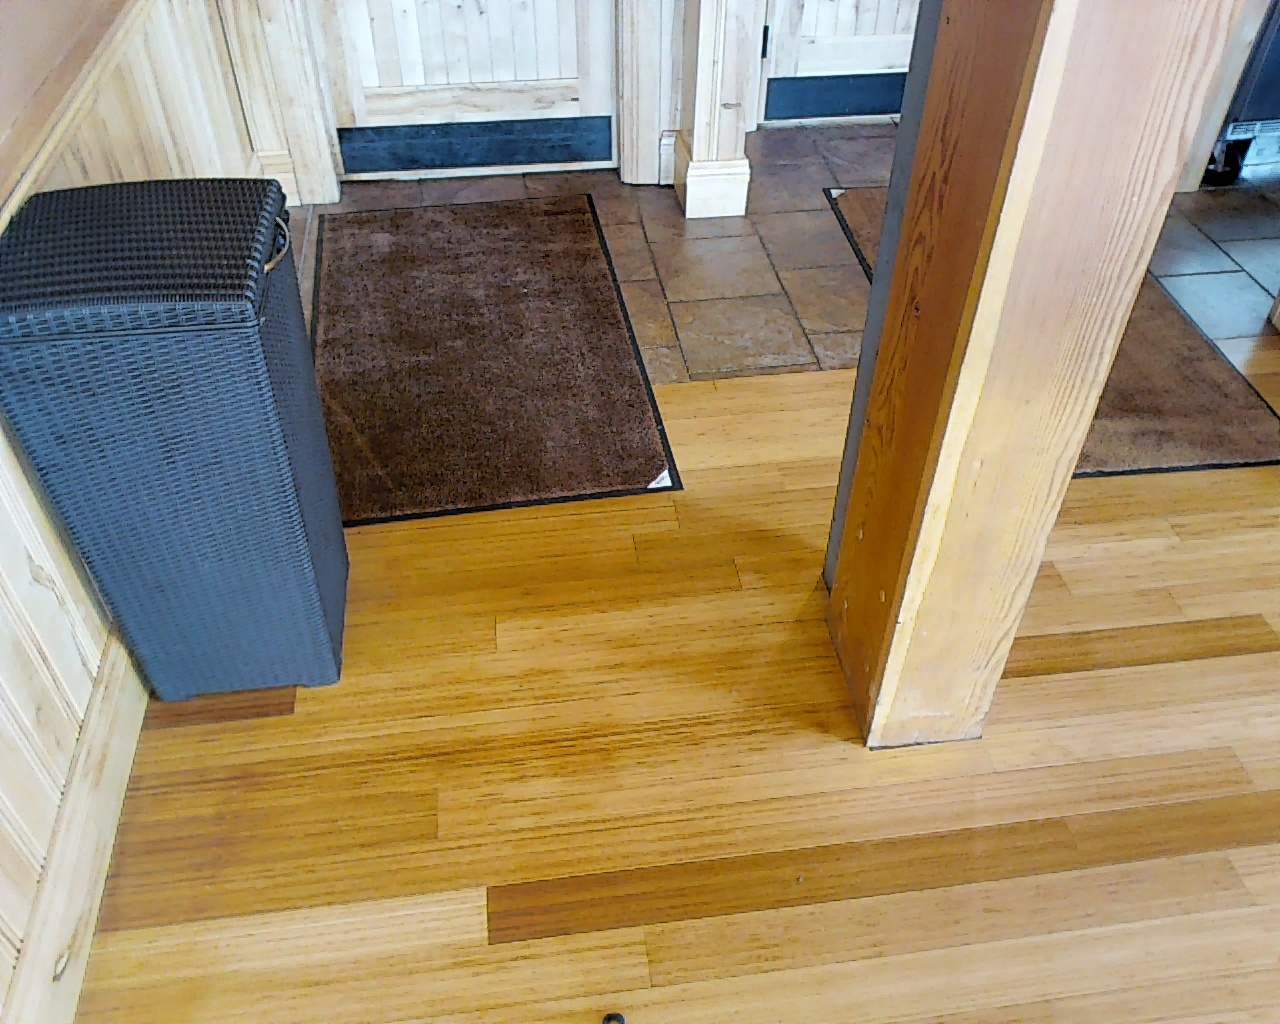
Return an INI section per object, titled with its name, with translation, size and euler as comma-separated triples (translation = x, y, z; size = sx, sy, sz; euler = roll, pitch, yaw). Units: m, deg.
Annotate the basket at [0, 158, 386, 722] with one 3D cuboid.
[basket]
translation = -0.710, -0.090, 1.820
size = 0.410, 0.860, 0.400
euler = -5, 43, -6
